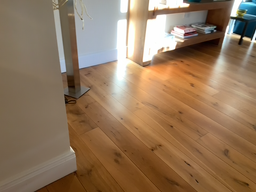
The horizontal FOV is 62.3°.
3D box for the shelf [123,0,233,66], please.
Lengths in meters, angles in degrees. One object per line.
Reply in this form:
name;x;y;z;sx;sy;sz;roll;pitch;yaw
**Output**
shelf;0.880;-1.700;2.930;1.930;2.200;0.400;-20;40;-33
